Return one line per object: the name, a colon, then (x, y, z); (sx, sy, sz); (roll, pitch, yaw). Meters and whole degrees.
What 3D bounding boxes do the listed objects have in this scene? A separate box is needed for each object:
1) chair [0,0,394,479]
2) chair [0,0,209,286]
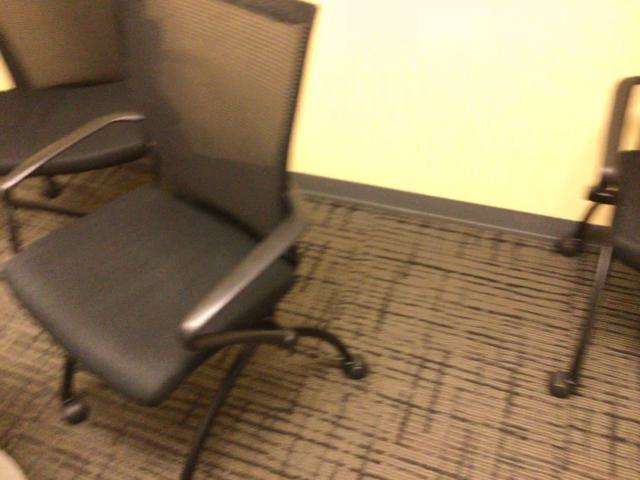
chair: (-0.310, 0.000, 1.150); (0.640, 0.870, 0.580); (30, 51, 30)
chair: (-0.680, -0.410, 1.590); (0.600, 0.860, 0.580); (-6, 42, -4)
